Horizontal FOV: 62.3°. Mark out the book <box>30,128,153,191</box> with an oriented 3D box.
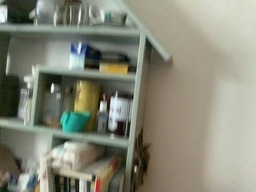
[{"bbox_3d":[-0.110,0.310,0.670,0.310,0.340,0.200,7,2,15],"label":"book"}]
